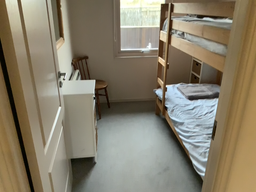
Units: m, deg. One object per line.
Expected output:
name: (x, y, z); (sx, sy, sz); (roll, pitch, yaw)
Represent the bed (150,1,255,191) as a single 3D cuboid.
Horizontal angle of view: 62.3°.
bed: (0.980, -0.090, 2.120); (1.030, 1.540, 2.030); (-2, 24, -7)
